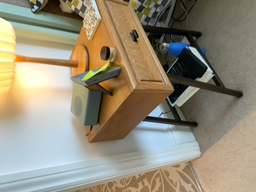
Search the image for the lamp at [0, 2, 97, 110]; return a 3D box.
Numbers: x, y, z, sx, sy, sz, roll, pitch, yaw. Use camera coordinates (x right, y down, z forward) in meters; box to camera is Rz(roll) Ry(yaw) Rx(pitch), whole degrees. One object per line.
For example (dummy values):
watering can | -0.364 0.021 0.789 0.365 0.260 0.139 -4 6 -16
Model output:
lamp | -0.380 -0.120 0.710 0.260 0.440 0.230 -50 51 42
